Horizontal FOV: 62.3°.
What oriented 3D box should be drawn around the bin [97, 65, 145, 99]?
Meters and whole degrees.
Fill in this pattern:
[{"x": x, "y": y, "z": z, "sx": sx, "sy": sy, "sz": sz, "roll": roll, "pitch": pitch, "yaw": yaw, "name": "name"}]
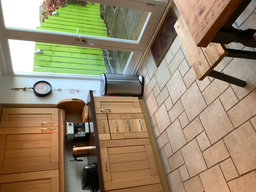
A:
[{"x": -0.130, "y": -0.220, "z": 3.510, "sx": 0.330, "sy": 0.680, "sz": 0.430, "roll": 121, "pitch": 144, "yaw": -52, "name": "bin"}]
